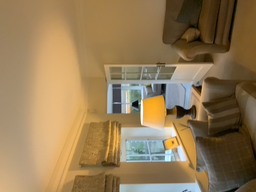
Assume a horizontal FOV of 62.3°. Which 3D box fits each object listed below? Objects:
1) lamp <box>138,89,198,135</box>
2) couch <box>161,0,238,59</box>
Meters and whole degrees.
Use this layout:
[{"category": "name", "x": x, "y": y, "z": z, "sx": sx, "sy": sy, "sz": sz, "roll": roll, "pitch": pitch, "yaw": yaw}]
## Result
[{"category": "lamp", "x": 0.540, "y": 0.220, "z": 3.080, "sx": 0.510, "sy": 0.730, "sz": 0.490, "roll": -94, "pitch": 5, "yaw": -68}, {"category": "couch", "x": 1.100, "y": -1.370, "z": 3.470, "sx": 1.020, "sy": 0.840, "sz": 1.320, "roll": -94, "pitch": 4, "yaw": -68}]
